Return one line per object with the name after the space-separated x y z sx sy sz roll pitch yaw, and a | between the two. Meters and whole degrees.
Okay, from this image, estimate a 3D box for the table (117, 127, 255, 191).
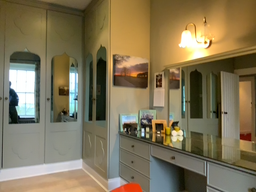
0.610 0.800 1.970 0.540 0.740 2.080 1 -1 -30 | table
